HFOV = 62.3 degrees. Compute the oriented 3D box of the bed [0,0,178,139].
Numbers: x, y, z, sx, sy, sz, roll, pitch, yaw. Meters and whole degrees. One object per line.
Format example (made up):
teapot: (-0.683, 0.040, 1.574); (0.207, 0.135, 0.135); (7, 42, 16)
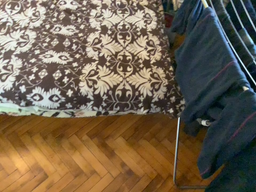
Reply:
bed: (-0.400, -0.700, 1.820); (1.250, 0.460, 2.040); (3, 55, -6)
